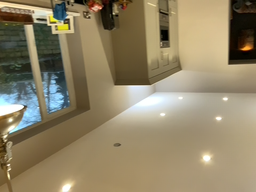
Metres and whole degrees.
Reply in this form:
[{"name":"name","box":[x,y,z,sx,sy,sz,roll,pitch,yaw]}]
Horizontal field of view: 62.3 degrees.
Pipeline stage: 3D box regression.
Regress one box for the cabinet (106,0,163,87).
[{"name":"cabinet","box":[0.110,-1.300,3.490,0.650,2.210,0.590,1,-165,27]}]
